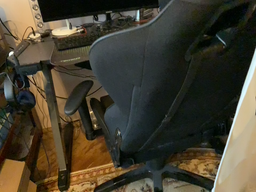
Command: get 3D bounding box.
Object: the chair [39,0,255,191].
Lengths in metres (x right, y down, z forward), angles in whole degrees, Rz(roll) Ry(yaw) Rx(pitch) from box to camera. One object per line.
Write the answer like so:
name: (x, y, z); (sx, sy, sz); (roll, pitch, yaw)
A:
chair: (0.150, -0.010, 0.890); (0.780, 1.150, 0.890); (-15, 31, -16)
